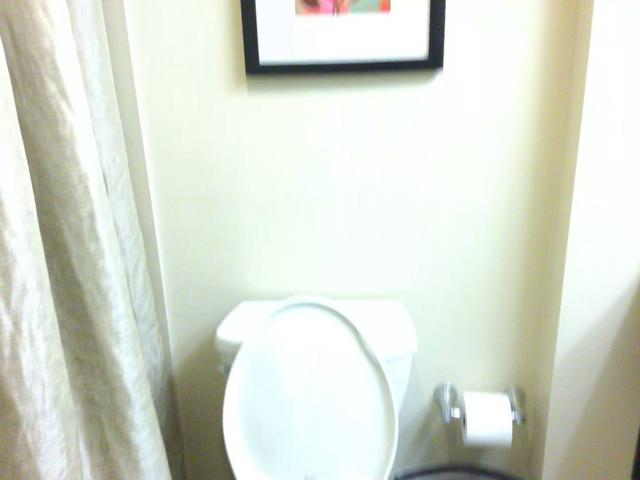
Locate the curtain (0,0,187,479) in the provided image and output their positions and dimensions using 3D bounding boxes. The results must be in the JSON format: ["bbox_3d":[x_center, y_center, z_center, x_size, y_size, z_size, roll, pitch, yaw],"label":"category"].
[{"bbox_3d":[-0.380,0.200,0.870,0.180,1.660,0.300,-1,19,7],"label":"curtain"}]

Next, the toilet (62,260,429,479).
[{"bbox_3d":[-0.030,0.580,1.140,0.440,0.860,0.760,-1,19,7],"label":"toilet"}]

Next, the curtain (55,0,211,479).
[{"bbox_3d":[-0.410,-0.010,1.310,0.110,1.870,0.140,-1,19,7],"label":"curtain"}]
